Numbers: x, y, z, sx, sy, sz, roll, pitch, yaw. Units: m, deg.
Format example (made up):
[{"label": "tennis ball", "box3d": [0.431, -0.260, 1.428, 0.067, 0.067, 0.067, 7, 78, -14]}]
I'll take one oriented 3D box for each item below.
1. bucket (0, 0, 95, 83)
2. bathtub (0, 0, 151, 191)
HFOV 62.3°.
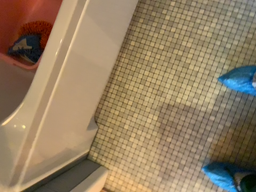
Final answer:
[{"label": "bucket", "box3d": [-0.440, -0.330, 1.000, 0.370, 0.250, 0.400, 25, 93, 11]}, {"label": "bathtub", "box3d": [-0.330, -0.440, 0.890, 0.690, 0.600, 1.370, 22, 92, 12]}]
